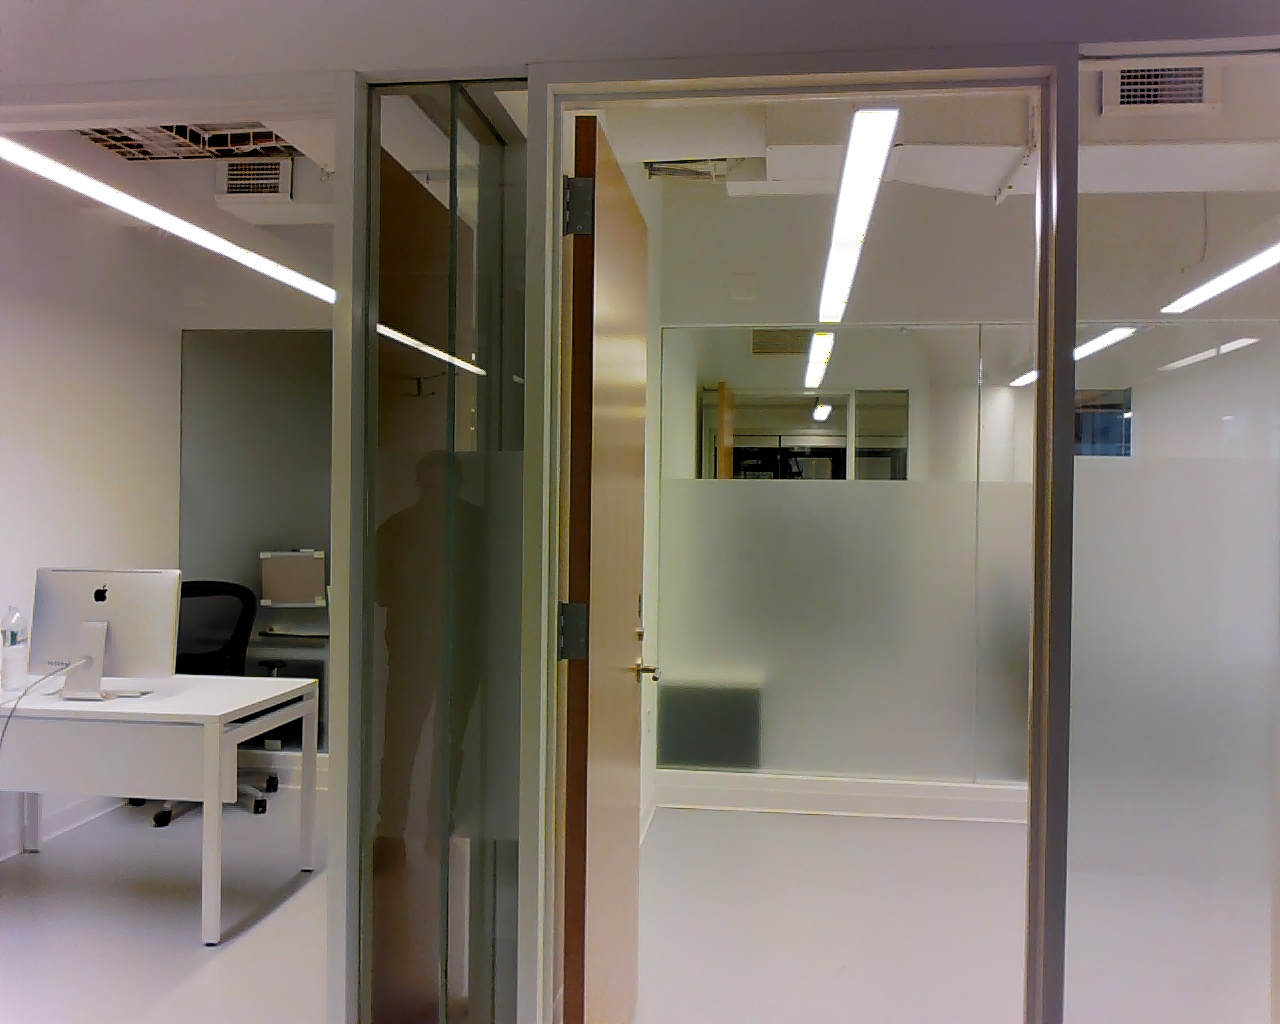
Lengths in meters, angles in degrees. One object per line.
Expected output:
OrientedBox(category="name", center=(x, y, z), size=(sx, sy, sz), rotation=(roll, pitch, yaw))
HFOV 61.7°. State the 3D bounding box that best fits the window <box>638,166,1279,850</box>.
OrientedBox(category="window", center=(1.500, -0.040, 4.870), size=(2.969, 2.971, 0.110), rotation=(1, 1, 7))
